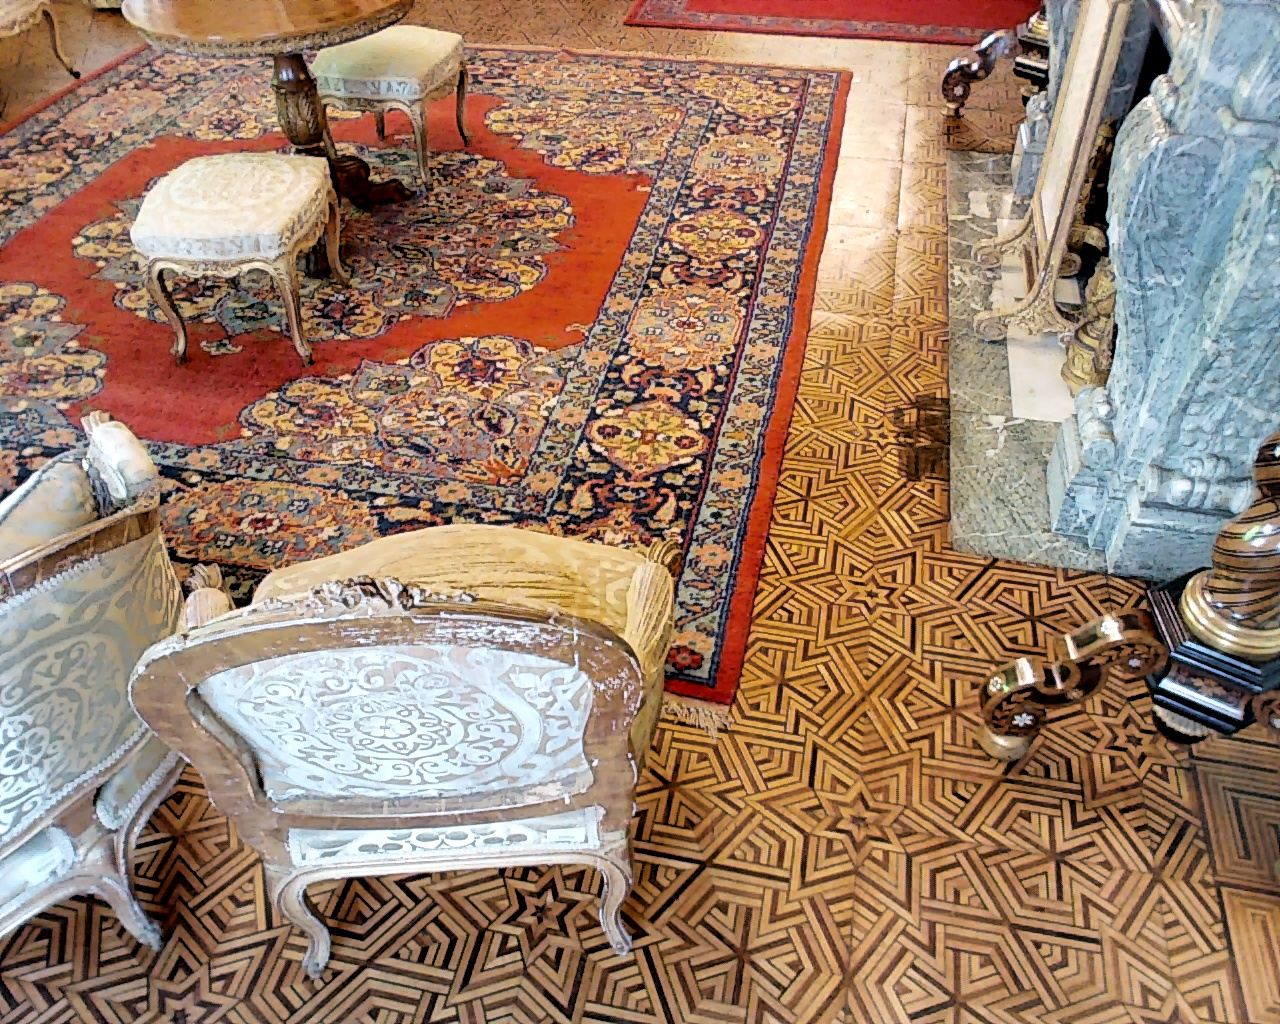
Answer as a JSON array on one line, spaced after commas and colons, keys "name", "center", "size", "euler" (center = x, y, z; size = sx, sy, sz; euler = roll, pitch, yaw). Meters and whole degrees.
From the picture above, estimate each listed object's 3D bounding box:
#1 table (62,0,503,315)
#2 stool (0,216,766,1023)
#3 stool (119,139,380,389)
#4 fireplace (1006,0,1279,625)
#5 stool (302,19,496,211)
[{"name": "table", "center": [-1.060, -1.270, 3.490], "size": [0.900, 0.810, 0.880], "euler": [9, 42, 11]}, {"name": "stool", "center": [-0.280, 0.230, 1.610], "size": [0.770, 1.060, 0.730], "euler": [-3, 41, -2]}, {"name": "stool", "center": [-1.080, -0.720, 3.090], "size": [0.460, 0.500, 0.540], "euler": [1, 41, 3]}, {"name": "fireplace", "center": [1.440, -1.040, 2.800], "size": [0.590, 1.320, 2.360], "euler": [8, 42, 10]}, {"name": "stool", "center": [-0.860, -1.470, 3.960], "size": [0.460, 0.470, 0.560], "euler": [7, 42, 9]}]
